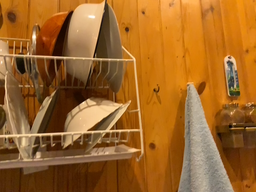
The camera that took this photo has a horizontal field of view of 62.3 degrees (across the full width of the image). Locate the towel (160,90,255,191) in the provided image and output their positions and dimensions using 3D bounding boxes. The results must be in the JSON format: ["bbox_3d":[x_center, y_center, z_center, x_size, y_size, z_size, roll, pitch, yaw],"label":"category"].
[{"bbox_3d":[0.270,0.310,0.640,0.260,0.630,0.180,0,-10,-13],"label":"towel"}]
